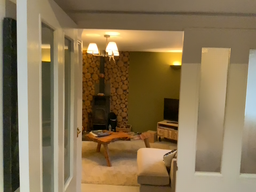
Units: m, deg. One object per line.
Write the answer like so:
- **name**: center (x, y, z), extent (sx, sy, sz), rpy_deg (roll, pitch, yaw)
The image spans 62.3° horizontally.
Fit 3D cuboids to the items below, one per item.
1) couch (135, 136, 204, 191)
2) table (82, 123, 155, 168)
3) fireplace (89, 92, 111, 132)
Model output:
- **couch**: center (0.530, 1.020, 3.050), extent (0.810, 0.610, 0.910), rpy_deg (3, 6, 4)
- **table**: center (-0.180, 0.930, 4.290), extent (1.250, 0.490, 0.780), rpy_deg (-2, 8, -37)
- **fireplace**: center (-0.730, 0.400, 5.610), extent (0.470, 0.980, 0.410), rpy_deg (2, 6, 3)
